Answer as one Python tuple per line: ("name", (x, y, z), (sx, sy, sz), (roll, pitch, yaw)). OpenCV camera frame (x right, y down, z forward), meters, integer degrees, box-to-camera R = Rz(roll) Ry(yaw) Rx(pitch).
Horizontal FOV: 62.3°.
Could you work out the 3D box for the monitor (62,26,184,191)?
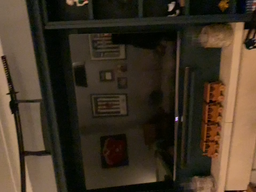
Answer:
("monitor", (0.010, 0.170, 1.570), (0.080, 0.740, 1.230), (-87, -10, -72))
